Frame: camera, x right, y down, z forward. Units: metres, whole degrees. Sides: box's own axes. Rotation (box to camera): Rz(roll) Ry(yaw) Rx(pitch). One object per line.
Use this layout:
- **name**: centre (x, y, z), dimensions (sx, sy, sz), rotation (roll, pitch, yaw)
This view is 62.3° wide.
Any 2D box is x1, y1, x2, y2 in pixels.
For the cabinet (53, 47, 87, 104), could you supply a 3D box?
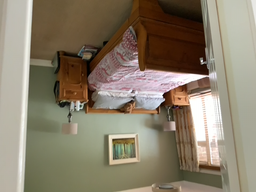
- **cabinet**: centre (-1.000, -0.320, 3.620), dimensions (0.440, 0.830, 0.510), rotation (2, 169, -27)

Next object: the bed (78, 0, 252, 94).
- **bed**: centre (0.340, -0.560, 3.390), dimensions (1.720, 0.570, 2.220), rotation (2, 169, -27)
